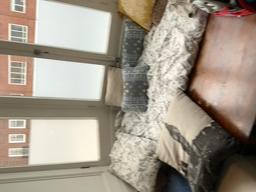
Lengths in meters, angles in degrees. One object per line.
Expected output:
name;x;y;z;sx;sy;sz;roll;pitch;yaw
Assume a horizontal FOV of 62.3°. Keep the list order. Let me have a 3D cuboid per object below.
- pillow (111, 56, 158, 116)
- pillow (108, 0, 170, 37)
pillow;0.060;-0.090;1.970;0.110;0.240;0.490;-162;97;-86
pillow;0.090;-0.820;1.840;0.170;0.470;0.380;-44;-18;-41
